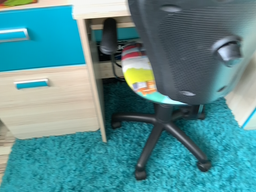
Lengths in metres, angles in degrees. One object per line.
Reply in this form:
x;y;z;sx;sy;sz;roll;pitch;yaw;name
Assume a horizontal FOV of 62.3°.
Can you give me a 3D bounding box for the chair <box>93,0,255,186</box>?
0.180;-0.120;0.830;0.530;0.920;0.590;-5;51;-4;chair
